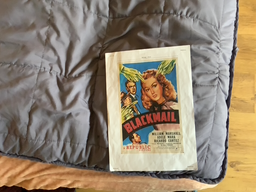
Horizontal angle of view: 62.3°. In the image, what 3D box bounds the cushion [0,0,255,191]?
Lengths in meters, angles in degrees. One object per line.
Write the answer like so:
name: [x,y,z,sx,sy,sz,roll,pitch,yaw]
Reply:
cushion: [-0.070,-0.120,0.610,0.750,0.190,0.700,2,86,2]
